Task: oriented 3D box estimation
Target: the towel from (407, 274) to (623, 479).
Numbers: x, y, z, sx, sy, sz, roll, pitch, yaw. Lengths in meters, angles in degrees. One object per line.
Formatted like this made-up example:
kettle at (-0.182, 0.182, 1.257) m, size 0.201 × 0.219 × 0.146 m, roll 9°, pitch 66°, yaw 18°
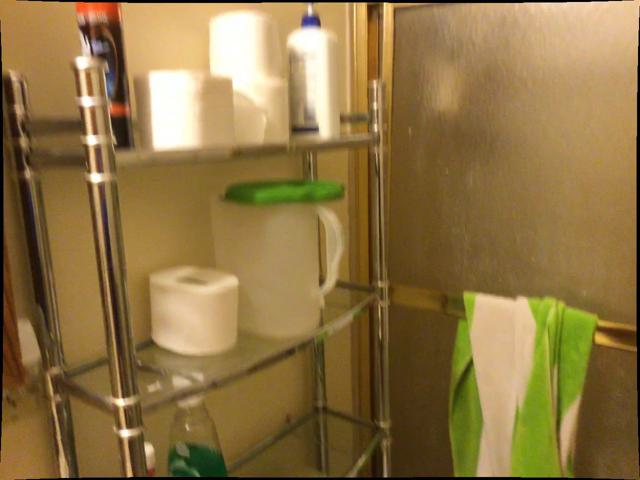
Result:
towel at (0.410, 0.591, 1.260) m, size 0.370 × 0.971 × 0.210 m, roll 6°, pitch 13°, yaw 36°
